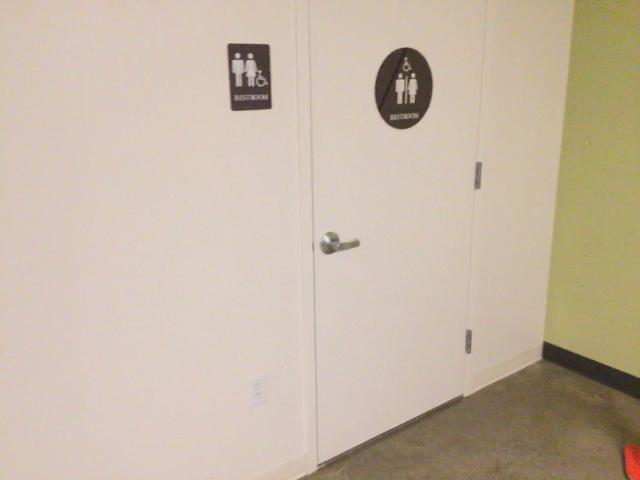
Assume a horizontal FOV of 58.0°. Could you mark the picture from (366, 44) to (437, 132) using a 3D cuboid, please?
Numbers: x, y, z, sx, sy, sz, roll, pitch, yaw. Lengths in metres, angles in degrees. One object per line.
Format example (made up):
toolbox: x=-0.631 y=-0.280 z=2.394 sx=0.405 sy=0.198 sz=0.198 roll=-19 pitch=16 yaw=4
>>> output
picture: x=0.310 y=-0.570 z=2.150 sx=0.310 sy=0.300 sz=0.030 roll=-13 pitch=17 yaw=-32

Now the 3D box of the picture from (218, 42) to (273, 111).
picture: x=-0.230 y=-0.510 z=1.800 sx=0.160 sy=0.200 sz=0.020 roll=-13 pitch=17 yaw=-32
